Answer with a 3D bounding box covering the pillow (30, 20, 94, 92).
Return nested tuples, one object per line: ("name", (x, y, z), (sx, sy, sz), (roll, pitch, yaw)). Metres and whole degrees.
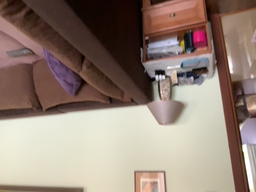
("pillow", (-0.450, -0.250, 1.530), (0.360, 0.290, 0.480), (3, 162, -13))
